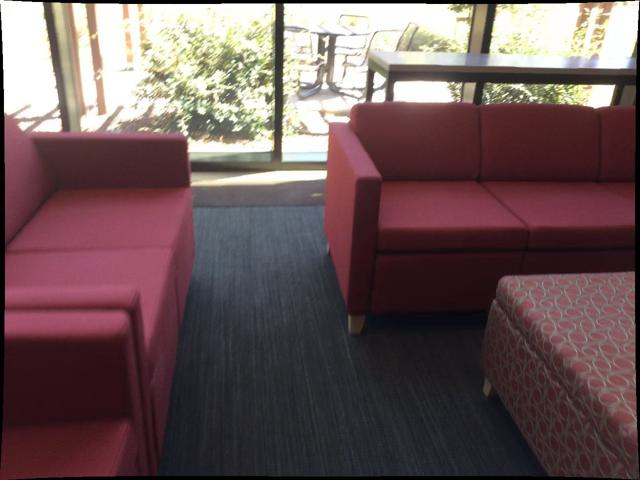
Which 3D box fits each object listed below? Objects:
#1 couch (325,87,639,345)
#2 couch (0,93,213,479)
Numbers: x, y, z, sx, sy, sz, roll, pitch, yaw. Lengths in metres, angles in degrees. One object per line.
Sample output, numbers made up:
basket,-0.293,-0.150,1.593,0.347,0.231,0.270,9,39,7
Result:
couch,1.018,-0.150,2.540,1.867,0.801,0.880,0,26,-6
couch,-0.799,0.110,1.810,0.809,0.781,1.520,0,26,-7
